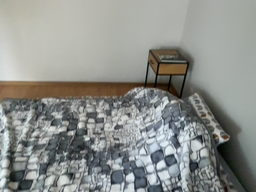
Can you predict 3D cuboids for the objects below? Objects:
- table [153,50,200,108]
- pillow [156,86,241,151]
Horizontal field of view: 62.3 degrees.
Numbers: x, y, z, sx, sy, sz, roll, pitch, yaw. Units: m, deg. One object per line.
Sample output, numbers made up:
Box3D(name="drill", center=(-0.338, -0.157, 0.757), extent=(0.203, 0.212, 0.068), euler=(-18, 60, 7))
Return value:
Box3D(name="table", center=(0.570, -0.210, 2.640), extent=(0.390, 0.610, 0.360), euler=(2, 31, -5))
Box3D(name="pillow", center=(0.550, 0.160, 1.840), extent=(0.470, 0.160, 0.710), euler=(1, 31, -5))
